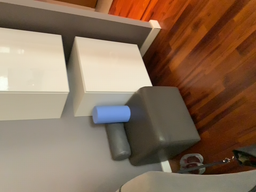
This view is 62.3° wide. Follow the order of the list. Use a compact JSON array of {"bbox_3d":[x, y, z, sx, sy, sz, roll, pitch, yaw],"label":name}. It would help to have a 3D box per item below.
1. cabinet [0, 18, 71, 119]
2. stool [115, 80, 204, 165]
[{"bbox_3d":[-0.860,-0.210,1.700,0.430,0.640,0.650,-53,45,48],"label":"cabinet"},{"bbox_3d":[0.230,0.240,1.860,0.530,0.430,0.520,-53,45,48],"label":"stool"}]
